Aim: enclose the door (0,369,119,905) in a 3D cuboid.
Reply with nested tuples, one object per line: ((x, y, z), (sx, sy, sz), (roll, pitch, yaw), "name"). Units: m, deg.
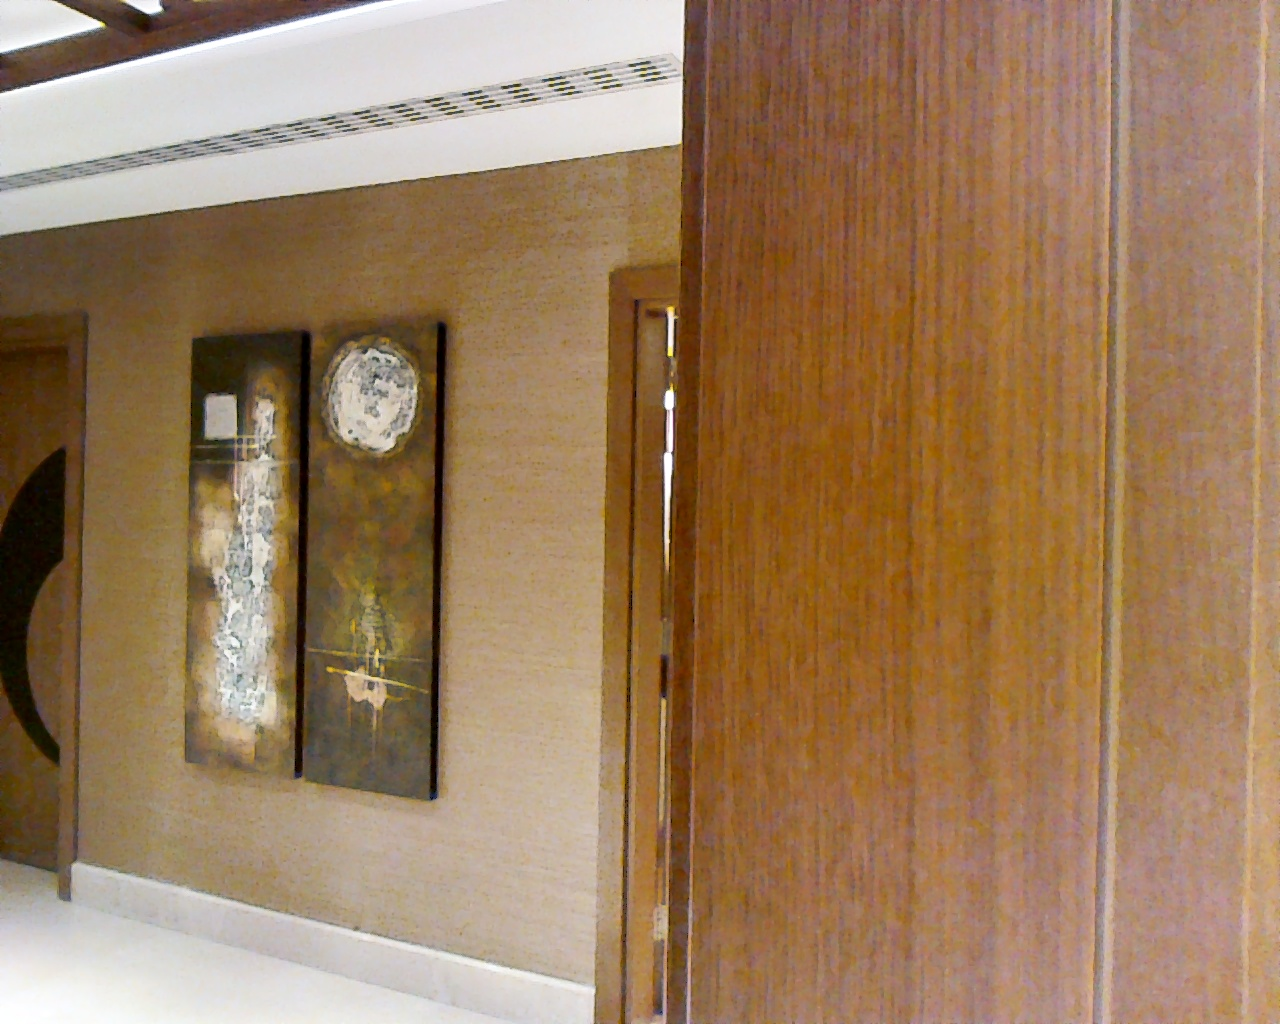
((-2.479, 0.490, 4.470), (0.790, 2.130, 0.050), (1, 0, 26), "door")

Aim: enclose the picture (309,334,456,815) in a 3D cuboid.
((-0.840, 0.190, 3.490), (0.520, 1.500, 0.050), (1, 0, 26), "picture")

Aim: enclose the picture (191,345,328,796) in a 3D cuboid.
((-1.320, 0.190, 3.720), (0.540, 1.500, 0.050), (1, 0, 26), "picture")
